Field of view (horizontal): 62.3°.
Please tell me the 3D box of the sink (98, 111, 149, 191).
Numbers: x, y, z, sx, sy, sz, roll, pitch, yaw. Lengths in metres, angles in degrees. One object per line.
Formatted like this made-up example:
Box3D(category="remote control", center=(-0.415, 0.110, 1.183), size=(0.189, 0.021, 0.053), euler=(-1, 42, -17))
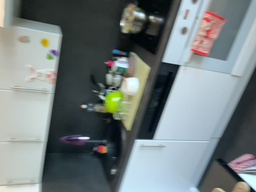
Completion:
Box3D(category="sink", center=(-0.070, 0.490, 1.960), size=(0.490, 0.210, 0.520), euler=(-127, 48, -57))
